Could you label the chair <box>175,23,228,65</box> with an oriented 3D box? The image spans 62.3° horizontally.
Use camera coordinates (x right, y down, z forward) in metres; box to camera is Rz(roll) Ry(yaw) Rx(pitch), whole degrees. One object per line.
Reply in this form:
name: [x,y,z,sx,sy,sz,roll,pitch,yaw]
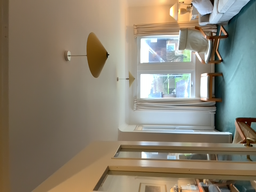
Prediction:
chair: [1.750,-1.290,5.240,0.830,1.000,0.720,-82,-10,-54]
